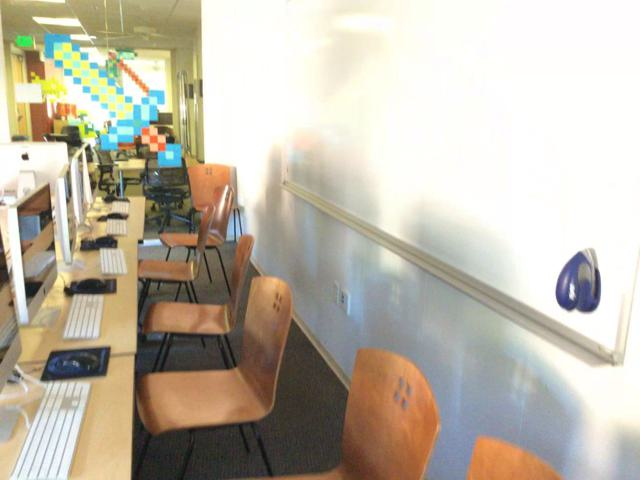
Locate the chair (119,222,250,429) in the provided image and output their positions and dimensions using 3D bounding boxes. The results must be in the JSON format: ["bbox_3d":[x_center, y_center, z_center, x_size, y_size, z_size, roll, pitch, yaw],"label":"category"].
[{"bbox_3d":[-0.630,0.360,2.680,0.520,0.780,0.490,-2,15,-17],"label":"chair"}]

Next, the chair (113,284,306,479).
[{"bbox_3d":[-0.410,0.580,2.080,0.580,0.680,0.510,-2,15,-17],"label":"chair"}]

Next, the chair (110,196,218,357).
[{"bbox_3d":[-0.910,0.180,3.390,0.540,0.770,0.590,-2,15,-17],"label":"chair"}]

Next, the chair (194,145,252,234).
[{"bbox_3d":[-0.940,-0.500,5.560,0.480,0.760,0.500,-2,15,-17],"label":"chair"}]
